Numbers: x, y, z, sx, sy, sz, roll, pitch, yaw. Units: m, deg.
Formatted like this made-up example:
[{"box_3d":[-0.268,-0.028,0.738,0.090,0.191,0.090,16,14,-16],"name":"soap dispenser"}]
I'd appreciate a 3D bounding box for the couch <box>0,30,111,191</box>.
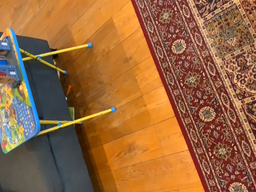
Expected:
[{"box_3d":[-0.720,0.510,1.550,0.740,0.660,1.760,-28,77,35],"name":"couch"}]
